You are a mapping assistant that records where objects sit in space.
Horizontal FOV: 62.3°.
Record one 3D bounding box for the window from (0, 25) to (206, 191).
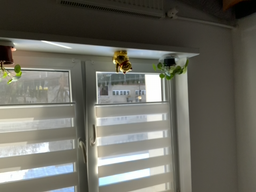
[{"bbox_3d":[-0.250,0.260,1.320,1.720,1.250,0.170,-1,178,-24],"label":"window"}]
